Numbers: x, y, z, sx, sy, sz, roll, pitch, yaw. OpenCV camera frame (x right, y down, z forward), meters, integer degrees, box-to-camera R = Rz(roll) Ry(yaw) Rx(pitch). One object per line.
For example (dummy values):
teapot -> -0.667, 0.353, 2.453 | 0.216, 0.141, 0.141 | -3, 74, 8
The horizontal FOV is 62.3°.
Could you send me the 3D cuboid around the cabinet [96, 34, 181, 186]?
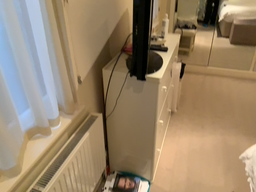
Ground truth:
cabinet -> 0.160, 0.050, 1.940 | 0.440, 0.960, 0.970 | 9, 32, 16
